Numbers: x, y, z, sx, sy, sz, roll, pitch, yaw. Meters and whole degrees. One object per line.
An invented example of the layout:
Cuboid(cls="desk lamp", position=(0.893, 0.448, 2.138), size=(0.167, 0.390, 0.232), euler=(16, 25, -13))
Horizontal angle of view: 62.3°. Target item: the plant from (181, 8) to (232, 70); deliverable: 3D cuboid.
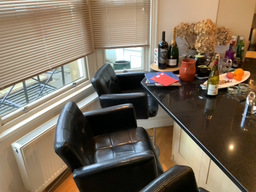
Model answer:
Cuboid(cls="plant", position=(0.770, -0.590, 2.160), size=(0.290, 0.540, 0.340), euler=(-5, 26, -10))

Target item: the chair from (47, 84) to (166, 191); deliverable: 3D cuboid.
Cuboid(cls="chair", position=(-0.120, 0.490, 1.480), size=(0.540, 0.920, 0.710), euler=(-4, 26, -5))
